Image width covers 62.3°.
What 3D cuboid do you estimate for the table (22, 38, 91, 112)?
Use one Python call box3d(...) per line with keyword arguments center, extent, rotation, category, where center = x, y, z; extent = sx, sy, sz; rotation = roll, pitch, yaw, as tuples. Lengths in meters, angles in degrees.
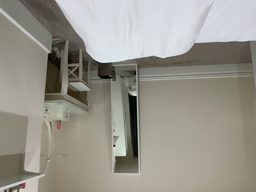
box3d(center=(-0.890, -0.210, 2.890), extent=(0.480, 0.710, 1.040), rotation=(-2, 168, 5), category="table")
